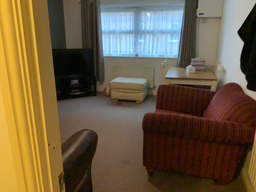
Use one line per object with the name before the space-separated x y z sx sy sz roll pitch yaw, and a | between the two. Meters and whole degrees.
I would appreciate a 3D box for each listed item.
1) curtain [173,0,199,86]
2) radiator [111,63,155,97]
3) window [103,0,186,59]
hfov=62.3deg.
curtain | 1.220 -1.160 4.500 0.410 1.860 0.200 4 17 14
radiator | 0.110 -0.380 5.050 1.030 0.750 0.100 4 17 14
window | 0.340 -1.510 4.890 1.850 1.240 0.080 4 17 13
